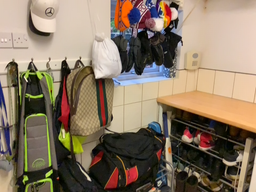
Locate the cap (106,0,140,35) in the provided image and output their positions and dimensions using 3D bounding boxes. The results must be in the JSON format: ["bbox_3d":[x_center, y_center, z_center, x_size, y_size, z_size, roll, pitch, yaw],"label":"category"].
[{"bbox_3d":[-0.040,-0.600,1.560,0.190,0.280,0.160,-11,19,-38],"label":"cap"}]

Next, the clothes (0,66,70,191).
[{"bbox_3d":[-0.570,0.410,1.320,0.330,1.150,0.190,-11,19,-38],"label":"clothes"}]

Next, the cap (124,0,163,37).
[{"bbox_3d":[0.120,-0.620,1.680,0.230,0.290,0.190,-10,18,-35],"label":"cap"}]
